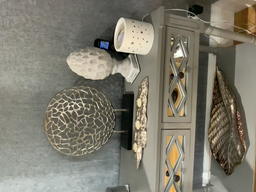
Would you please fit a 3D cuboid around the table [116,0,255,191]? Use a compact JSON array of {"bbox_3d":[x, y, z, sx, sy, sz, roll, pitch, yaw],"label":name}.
[{"bbox_3d":[0.370,0.090,1.090,0.320,0.760,1.010,180,93,-65],"label":"table"}]
